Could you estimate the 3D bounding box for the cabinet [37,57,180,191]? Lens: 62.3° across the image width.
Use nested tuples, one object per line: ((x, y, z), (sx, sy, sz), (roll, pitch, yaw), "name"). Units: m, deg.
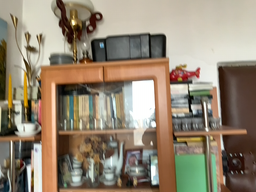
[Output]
((-0.080, 0.770, 1.210), (0.710, 1.890, 0.390), (-2, -4, 6), "cabinet")
